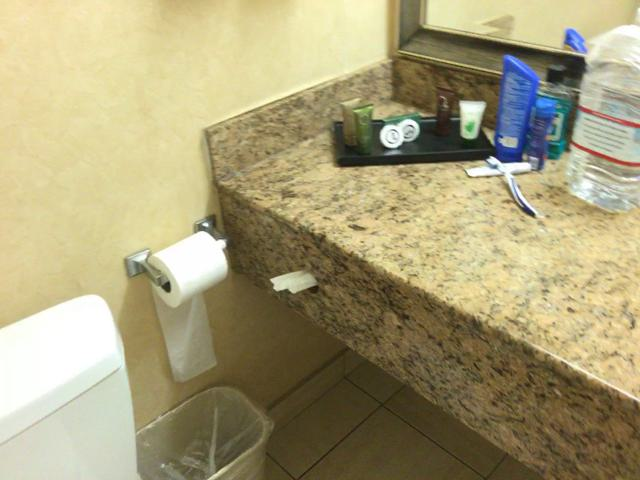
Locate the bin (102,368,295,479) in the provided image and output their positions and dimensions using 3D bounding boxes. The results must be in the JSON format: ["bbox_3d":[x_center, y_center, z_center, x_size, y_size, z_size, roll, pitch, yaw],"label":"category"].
[{"bbox_3d":[-0.250,0.540,1.290,0.220,0.320,0.320,27,42,37],"label":"bin"}]
